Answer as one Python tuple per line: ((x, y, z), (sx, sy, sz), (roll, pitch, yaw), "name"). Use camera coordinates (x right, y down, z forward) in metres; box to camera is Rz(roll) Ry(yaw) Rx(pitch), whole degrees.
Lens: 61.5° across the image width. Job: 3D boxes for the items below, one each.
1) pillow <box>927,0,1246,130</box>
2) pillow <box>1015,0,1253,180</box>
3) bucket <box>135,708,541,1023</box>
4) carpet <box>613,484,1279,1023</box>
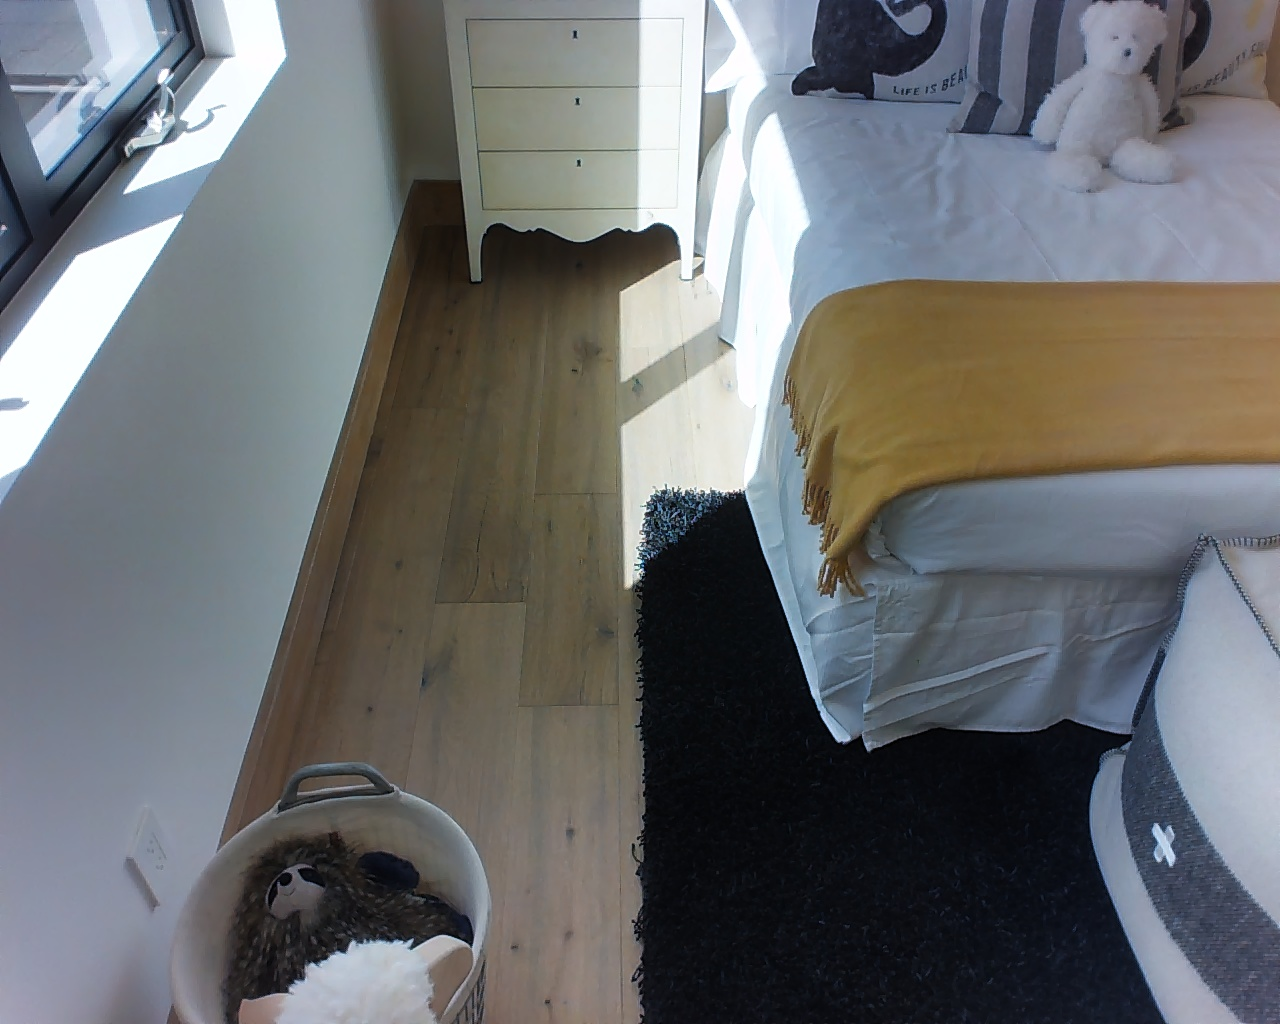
((1.000, -1.150, 2.410), (0.560, 0.470, 0.300), (-1, 42, -2), "pillow")
((1.020, -0.910, 2.270), (0.300, 0.300, 0.300), (-1, 42, -2), "pillow")
((-0.400, 0.600, 1.460), (0.440, 0.340, 0.450), (-13, 44, -14), "bucket")
((1.140, 0.440, 1.870), (2.330, 0.030, 1.450), (-2, 42, -2), "carpet")
